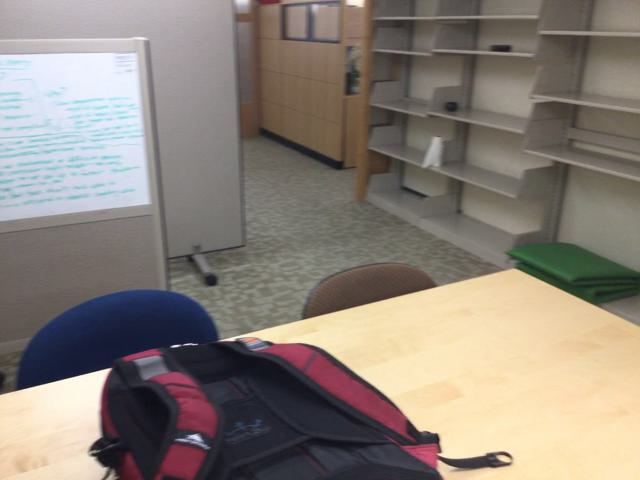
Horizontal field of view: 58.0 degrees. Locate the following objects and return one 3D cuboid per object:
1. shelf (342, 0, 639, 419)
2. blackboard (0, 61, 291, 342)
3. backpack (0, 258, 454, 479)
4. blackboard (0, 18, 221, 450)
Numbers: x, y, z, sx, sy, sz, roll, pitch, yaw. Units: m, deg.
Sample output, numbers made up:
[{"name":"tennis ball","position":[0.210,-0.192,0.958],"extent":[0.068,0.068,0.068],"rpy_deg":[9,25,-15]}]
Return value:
[{"name":"shelf","position":[1.790,-0.080,1.430],"extent":[0.810,1.890,7.140],"rpy_deg":[-11,18,-17]},{"name":"blackboard","position":[-1.060,-0.220,2.980],"extent":[1.710,1.160,0.370],"rpy_deg":[-12,25,-18]},{"name":"backpack","position":[-0.180,0.270,0.780],"extent":[0.510,0.220,0.490],"rpy_deg":[-12,25,-18]},{"name":"blackboard","position":[-0.920,-0.020,2.100],"extent":[0.880,1.400,0.400],"rpy_deg":[-12,25,-18]}]
